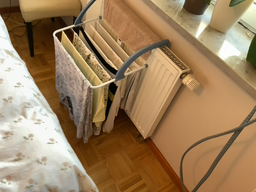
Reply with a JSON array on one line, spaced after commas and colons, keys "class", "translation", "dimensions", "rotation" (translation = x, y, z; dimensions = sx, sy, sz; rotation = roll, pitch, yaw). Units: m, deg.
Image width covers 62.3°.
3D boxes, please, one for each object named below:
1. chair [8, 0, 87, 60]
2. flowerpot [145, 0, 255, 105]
[{"class": "chair", "translation": [-0.700, -0.930, 1.740], "dimensions": [0.460, 0.960, 0.700], "rotation": [-20, 58, -30]}, {"class": "flowerpot", "translation": [0.400, -0.370, 0.760], "dimensions": [0.300, 0.390, 0.650], "rotation": [-15, 56, -27]}]
